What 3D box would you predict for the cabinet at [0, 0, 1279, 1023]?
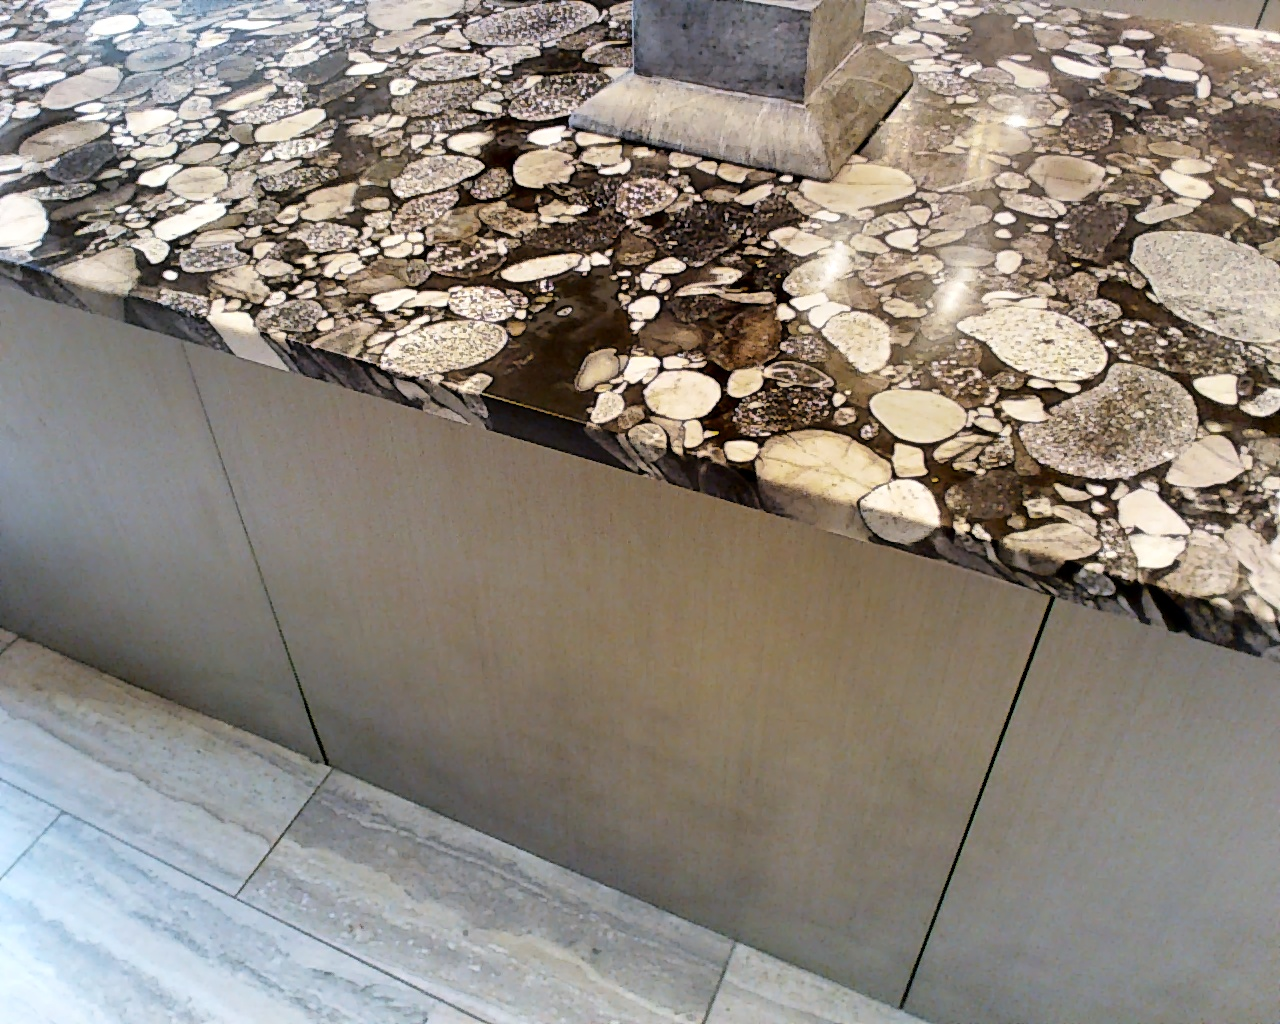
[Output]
[{"bbox_3d":[0.080,-0.060,1.320,2.620,0.950,1.020,17,45,18],"label":"cabinet"}]
